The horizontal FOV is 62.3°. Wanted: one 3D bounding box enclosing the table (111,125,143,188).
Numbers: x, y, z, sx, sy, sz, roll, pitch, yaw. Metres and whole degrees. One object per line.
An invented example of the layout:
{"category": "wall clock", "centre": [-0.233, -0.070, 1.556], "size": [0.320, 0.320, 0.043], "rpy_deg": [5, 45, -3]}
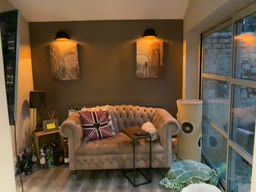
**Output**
{"category": "table", "centre": [-0.020, 0.760, 2.760], "size": [0.260, 0.650, 0.420], "rpy_deg": [-4, 9, -24]}

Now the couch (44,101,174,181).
{"category": "couch", "centre": [-0.240, 0.590, 3.140], "size": [1.610, 0.870, 0.900], "rpy_deg": [-1, 9, -1]}

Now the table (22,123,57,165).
{"category": "table", "centre": [-1.410, 0.750, 3.390], "size": [0.430, 0.510, 0.310], "rpy_deg": [-7, 11, -36]}
